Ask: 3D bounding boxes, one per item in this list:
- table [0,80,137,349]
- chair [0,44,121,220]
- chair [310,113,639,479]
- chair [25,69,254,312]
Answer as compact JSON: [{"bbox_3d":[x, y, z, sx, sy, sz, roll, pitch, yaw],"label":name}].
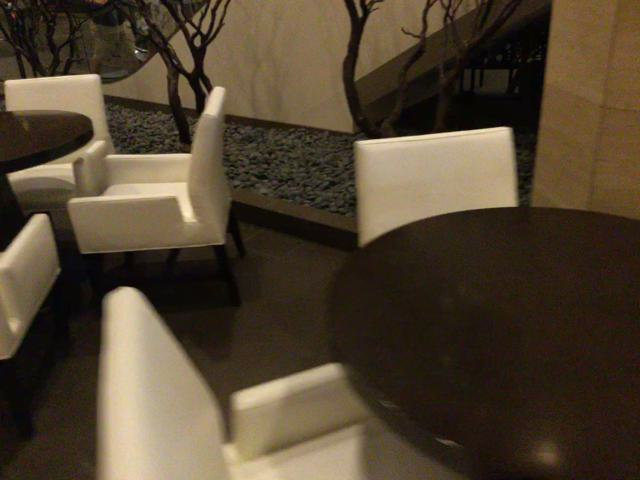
[{"bbox_3d":[-1.390,-0.130,2.460,0.910,0.820,0.890,-8,27,-6],"label":"table"},{"bbox_3d":[-1.430,-0.540,2.820,0.650,0.640,0.670,-8,27,-5],"label":"chair"},{"bbox_3d":[0.390,0.140,1.680,0.680,0.760,0.780,-8,27,-5],"label":"chair"},{"bbox_3d":[-0.700,-0.240,2.510,0.700,0.800,0.610,-8,27,-5],"label":"chair"}]
